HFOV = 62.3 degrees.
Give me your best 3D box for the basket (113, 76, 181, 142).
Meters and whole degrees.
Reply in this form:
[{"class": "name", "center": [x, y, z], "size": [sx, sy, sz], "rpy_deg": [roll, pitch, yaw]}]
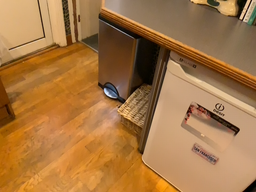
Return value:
[{"class": "basket", "center": [0.150, 0.080, 1.640], "size": [0.290, 0.180, 0.460], "rpy_deg": [33, 49, 23]}]
